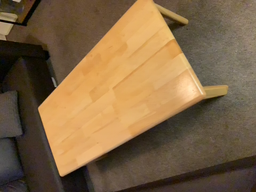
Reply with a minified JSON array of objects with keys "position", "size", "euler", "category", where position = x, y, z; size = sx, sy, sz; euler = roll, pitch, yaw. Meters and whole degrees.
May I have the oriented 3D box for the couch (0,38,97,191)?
[{"position":[-1.000,0.460,1.900],"size":[0.800,0.730,1.750],"euler":[-32,75,36],"category":"couch"}]
